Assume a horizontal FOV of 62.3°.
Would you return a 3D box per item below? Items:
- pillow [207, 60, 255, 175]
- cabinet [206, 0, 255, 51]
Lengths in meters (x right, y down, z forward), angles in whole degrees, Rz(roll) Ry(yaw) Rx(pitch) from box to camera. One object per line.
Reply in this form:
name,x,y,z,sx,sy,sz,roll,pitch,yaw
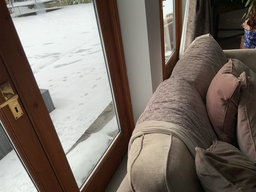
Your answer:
pillow,0.610,0.070,1.120,0.130,0.500,0.480,27,19,19
cabinet,1.660,-1.700,3.110,0.820,1.900,0.680,5,34,22
